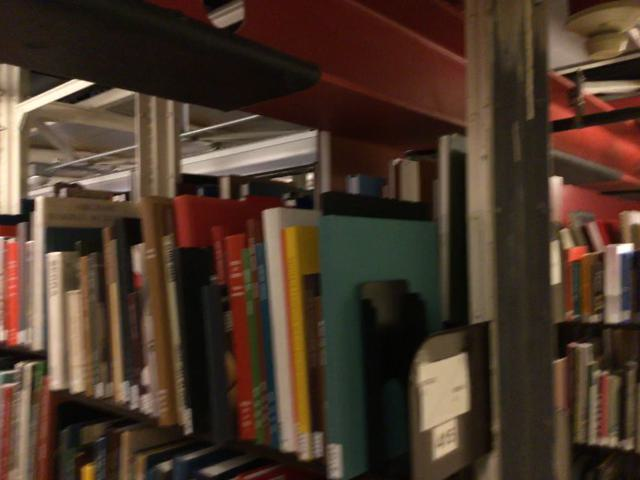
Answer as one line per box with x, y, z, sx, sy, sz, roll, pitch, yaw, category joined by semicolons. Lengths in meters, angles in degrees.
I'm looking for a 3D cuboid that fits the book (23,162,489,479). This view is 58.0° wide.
-0.170;0.130;0.990;0.830;0.410;0.290;-1;-2;39;book

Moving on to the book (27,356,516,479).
-0.160;0.490;1.050;0.930;0.410;0.310;-1;-2;39;book
